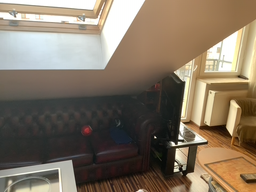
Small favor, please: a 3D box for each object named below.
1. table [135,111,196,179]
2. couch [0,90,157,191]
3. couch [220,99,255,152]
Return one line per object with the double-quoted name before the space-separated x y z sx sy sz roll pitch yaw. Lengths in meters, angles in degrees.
"table" 0.430 0.580 2.750 0.450 0.500 0.800 -1 17 -13
"couch" -0.760 0.460 2.420 1.920 0.800 0.860 -3 17 -19
"couch" 1.870 0.450 3.420 0.520 0.590 0.650 6 17 11
